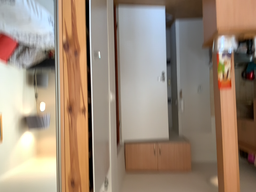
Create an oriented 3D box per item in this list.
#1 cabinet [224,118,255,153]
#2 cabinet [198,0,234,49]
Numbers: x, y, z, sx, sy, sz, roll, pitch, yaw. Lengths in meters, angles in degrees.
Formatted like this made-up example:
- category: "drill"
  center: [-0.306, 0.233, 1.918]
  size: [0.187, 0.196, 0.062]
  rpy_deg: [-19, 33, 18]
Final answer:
- category: "cabinet"
  center: [1.870, 0.610, 3.390]
  size: [0.420, 0.450, 0.580]
  rpy_deg: [-1, 179, 2]
- category: "cabinet"
  center: [0.800, -0.960, 1.990]
  size: [0.140, 0.920, 0.490]
  rpy_deg: [-1, 179, 3]
